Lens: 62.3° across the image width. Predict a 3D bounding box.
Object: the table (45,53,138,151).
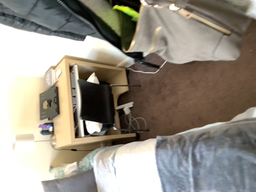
[{"bbox_3d":[-0.410,0.100,2.260,0.560,0.730,0.820,-26,67,48],"label":"table"}]
